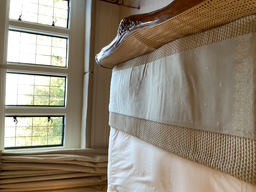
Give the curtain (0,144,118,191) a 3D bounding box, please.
[{"bbox_3d":[-1.290,1.160,3.290,0.310,2.310,0.610,-177,90,-64],"label":"curtain"}]
